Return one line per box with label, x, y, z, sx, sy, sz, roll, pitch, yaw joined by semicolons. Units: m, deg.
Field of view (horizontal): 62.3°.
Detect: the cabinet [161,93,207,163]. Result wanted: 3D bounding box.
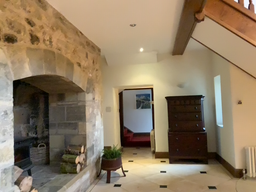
cabinet;1.430;0.820;5.550;1.010;1.710;0.570;-2;-2;7
